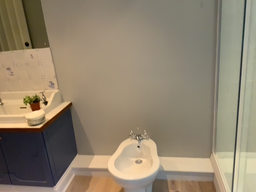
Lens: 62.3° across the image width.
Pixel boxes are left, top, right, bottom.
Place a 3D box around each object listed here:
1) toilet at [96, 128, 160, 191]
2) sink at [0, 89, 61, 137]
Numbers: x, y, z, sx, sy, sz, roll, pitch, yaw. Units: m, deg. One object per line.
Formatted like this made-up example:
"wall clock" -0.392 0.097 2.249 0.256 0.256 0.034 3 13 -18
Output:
"toilet" 0.050 0.600 1.820 0.410 0.400 0.640 -1 19 11
"sink" -1.080 0.140 1.930 0.730 0.260 0.450 -2 19 11
